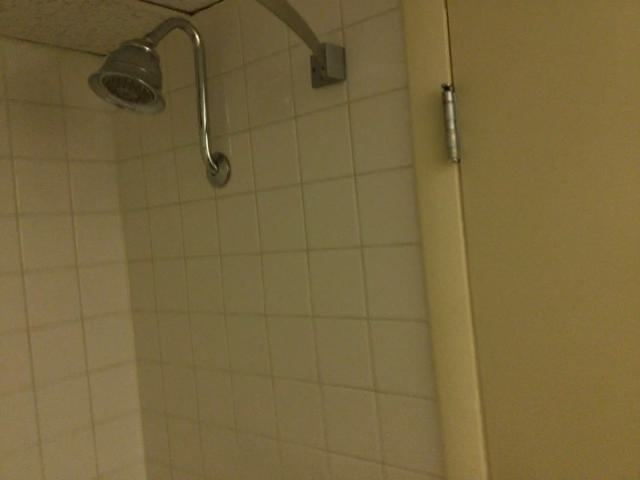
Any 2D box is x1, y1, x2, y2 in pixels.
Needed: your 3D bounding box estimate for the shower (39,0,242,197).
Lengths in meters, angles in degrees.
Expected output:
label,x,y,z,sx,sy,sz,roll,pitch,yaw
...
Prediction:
label,x,y,z,sx,sy,sz,roll,pitch,yaw
shower,-0.310,-0.240,1.010,0.240,0.310,0.220,-1,4,39
